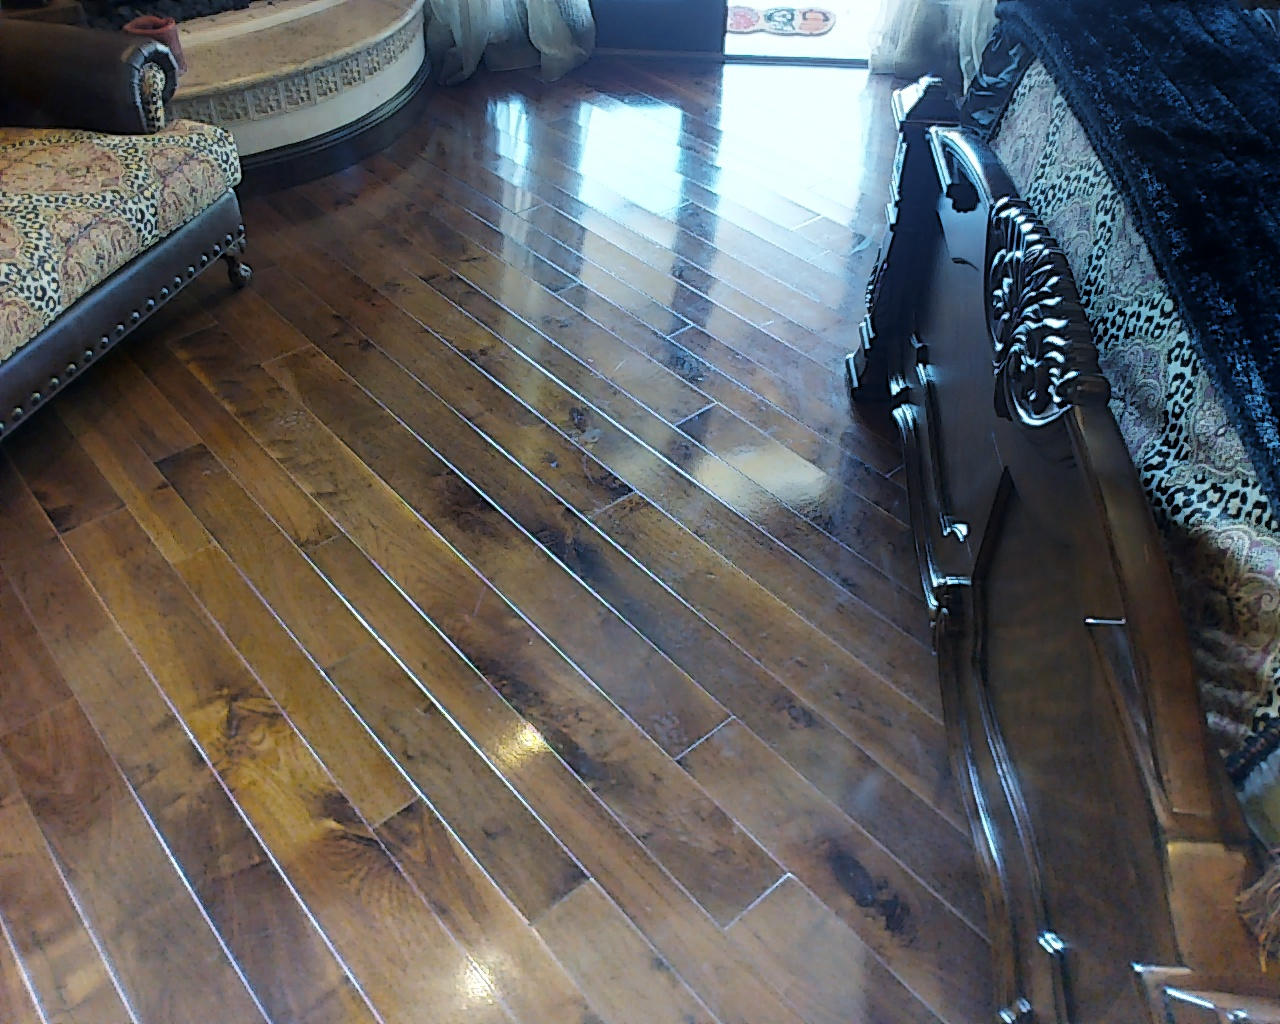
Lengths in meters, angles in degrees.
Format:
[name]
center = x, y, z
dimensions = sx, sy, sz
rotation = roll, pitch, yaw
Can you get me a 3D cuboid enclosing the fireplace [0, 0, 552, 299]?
[fireplace]
center = -1.510, -1.570, 3.830
dimensions = 1.490, 0.450, 1.870
rotation = 28, 48, 28
